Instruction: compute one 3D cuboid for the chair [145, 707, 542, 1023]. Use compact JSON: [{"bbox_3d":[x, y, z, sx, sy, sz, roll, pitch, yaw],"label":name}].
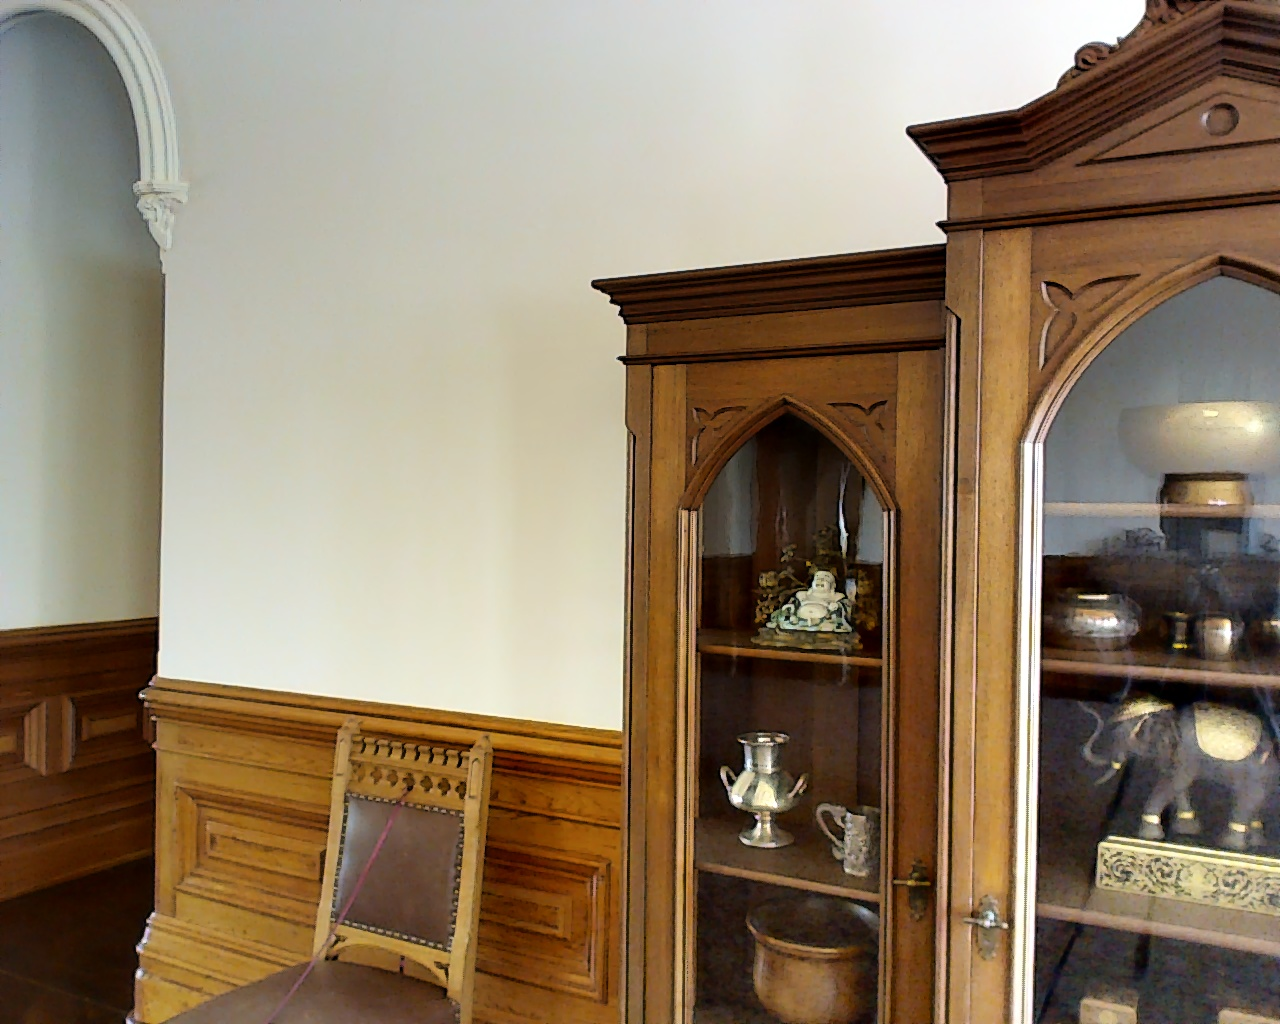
[{"bbox_3d":[-0.640,1.010,2.400,0.580,0.990,0.620,1,1,29],"label":"chair"}]
